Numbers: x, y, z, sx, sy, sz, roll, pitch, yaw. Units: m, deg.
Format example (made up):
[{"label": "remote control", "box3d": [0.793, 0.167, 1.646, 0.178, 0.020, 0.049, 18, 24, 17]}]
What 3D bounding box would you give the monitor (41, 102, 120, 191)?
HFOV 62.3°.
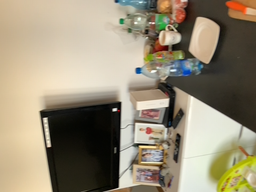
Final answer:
[{"label": "monitor", "box3d": [-0.300, 0.430, 1.530, 0.050, 0.490, 0.770, -127, 34, -57]}]
